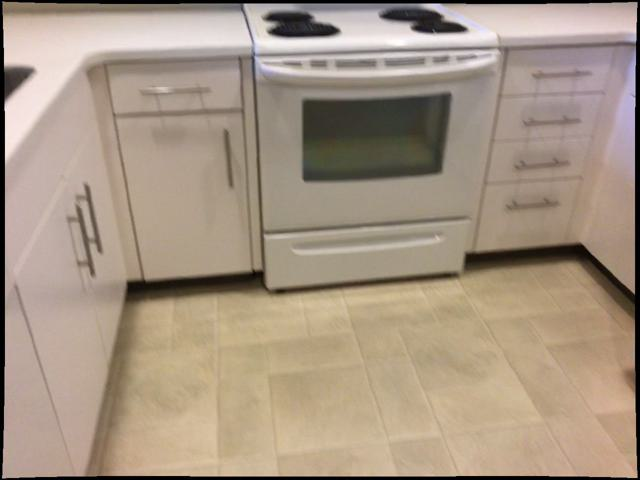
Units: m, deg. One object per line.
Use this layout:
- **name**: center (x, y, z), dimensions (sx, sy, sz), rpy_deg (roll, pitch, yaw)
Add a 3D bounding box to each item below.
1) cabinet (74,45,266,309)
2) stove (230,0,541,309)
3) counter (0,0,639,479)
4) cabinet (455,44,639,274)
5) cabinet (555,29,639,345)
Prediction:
- **cabinet**: center (-0.459, -0.180, 1.950), dimensions (0.509, 0.892, 0.110), rpy_deg (-4, 31, -8)
- **stove**: center (0.150, -0.491, 2.160), dimensions (0.898, 1.222, 0.720), rpy_deg (-4, 31, -8)
- **counter**: center (0.219, -0.361, 1.370), dimensions (3.042, 0.140, 2.181), rpy_deg (-4, 31, -8)
- **cabinet**: center (0.818, -0.271, 2.140), dimensions (0.519, 0.852, 0.080), rpy_deg (-4, 31, -8)
- **cabinet**: center (1.097, -0.160, 1.910), dimensions (0.120, 0.902, 0.650), rpy_deg (-4, 31, -8)
